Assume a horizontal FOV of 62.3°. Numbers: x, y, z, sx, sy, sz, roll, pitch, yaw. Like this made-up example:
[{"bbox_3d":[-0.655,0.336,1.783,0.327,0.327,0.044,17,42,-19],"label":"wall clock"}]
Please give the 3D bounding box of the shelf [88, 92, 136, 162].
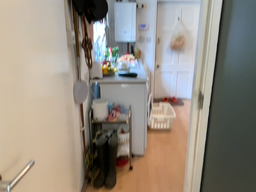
[{"bbox_3d":[-0.150,0.320,2.200,0.450,0.680,0.240,1,18,1],"label":"shelf"}]
